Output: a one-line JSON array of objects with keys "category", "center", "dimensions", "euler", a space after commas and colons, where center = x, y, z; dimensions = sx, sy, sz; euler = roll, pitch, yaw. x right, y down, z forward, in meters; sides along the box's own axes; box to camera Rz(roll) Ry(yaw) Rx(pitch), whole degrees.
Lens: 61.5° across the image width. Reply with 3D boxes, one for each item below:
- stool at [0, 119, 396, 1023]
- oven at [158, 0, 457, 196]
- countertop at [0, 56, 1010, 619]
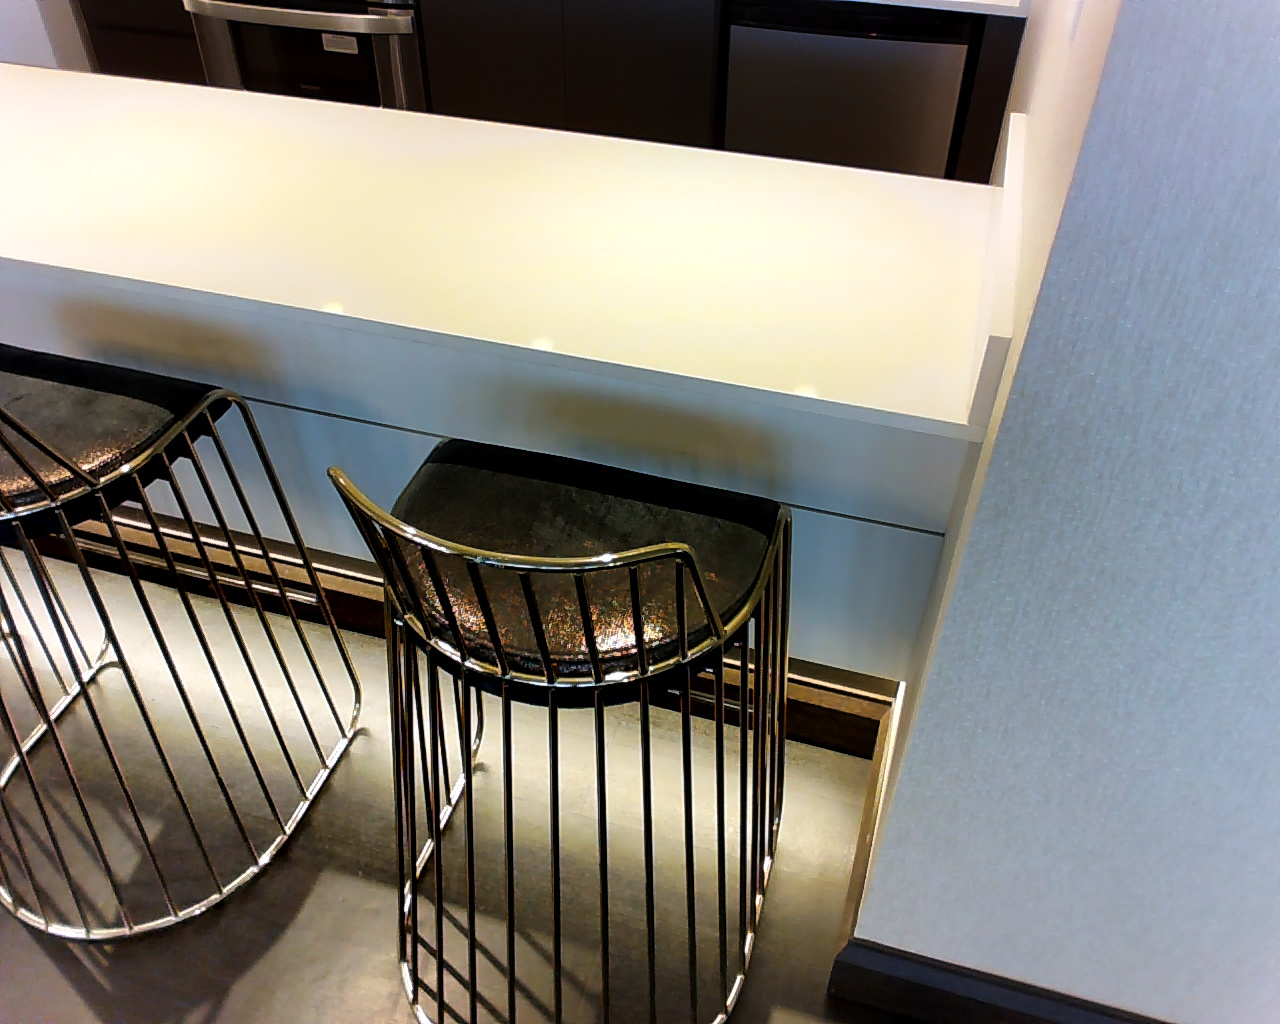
[{"category": "stool", "center": [-0.800, 0.100, 1.490], "dimensions": [0.530, 1.020, 0.660], "euler": [11, 42, 12]}, {"category": "oven", "center": [-0.800, -1.050, 2.600], "dimensions": [0.680, 0.470, 0.090], "euler": [12, 42, 12]}, {"category": "countertop", "center": [-0.680, -0.390, 1.540], "dimensions": [2.280, 0.200, 0.650], "euler": [12, 42, 12]}]
